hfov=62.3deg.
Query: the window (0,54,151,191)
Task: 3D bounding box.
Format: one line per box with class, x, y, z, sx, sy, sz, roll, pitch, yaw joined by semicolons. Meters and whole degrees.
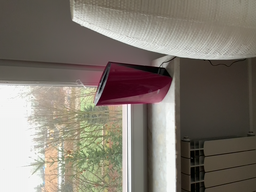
window;-0.400;0.260;0.970;0.100;1.110;0.860;176;94;-65
